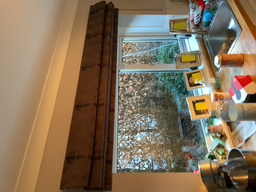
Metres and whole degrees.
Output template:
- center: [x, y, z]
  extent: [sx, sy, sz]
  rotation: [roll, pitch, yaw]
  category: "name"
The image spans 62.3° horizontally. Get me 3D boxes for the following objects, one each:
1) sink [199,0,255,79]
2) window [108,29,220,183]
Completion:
- center: [0.870, -0.520, 1.800]
  extent: [0.540, 0.270, 0.530]
  rotation: [92, 177, -54]
  category: "sink"
- center: [0.270, -0.070, 2.140]
  extent: [0.060, 0.860, 1.780]
  rotation: [92, 178, -56]
  category: "window"
